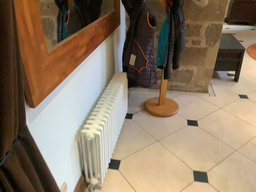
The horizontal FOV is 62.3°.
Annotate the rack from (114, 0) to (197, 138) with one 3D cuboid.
[{"bbox_3d":[0.320,-0.600,2.540,0.730,1.920,0.950,7,31,10],"label":"rack"}]
